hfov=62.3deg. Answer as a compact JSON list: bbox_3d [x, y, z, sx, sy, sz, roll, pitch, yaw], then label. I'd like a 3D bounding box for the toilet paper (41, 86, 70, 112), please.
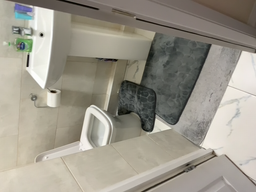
[{"bbox_3d":[-0.560,0.020,1.640,0.110,0.170,0.160,33,116,42],"label":"toilet paper"}]

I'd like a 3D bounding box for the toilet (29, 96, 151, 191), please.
[{"bbox_3d":[-0.300,0.380,1.730,0.410,0.800,0.610,30,115,43],"label":"toilet"}]

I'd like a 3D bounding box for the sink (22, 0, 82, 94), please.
[{"bbox_3d":[-0.480,-0.360,1.280,0.410,0.150,0.570,33,116,42],"label":"sink"}]
